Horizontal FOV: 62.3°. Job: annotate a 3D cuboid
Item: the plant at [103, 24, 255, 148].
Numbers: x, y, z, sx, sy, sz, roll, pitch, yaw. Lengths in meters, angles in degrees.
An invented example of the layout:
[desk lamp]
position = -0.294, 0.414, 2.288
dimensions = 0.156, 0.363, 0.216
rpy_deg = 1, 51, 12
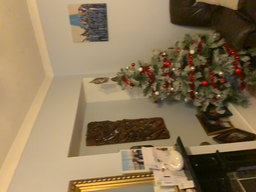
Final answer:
[plant]
position = 0.610, -0.160, 2.380
dimensions = 0.860, 1.670, 0.980
rpy_deg = -102, 8, -57
